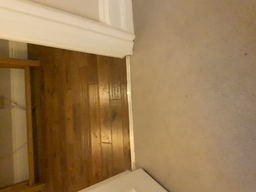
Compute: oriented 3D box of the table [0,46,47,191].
[{"bbox_3d":[-1.290,0.290,2.110,0.360,0.750,1.500,-4,89,41],"label":"table"}]
